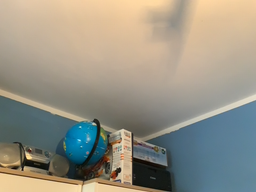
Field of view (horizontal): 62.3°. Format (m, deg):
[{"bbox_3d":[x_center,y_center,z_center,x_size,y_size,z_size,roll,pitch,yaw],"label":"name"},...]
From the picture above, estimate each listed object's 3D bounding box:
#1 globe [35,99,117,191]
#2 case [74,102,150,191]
[{"bbox_3d":[-0.300,0.330,1.270,0.260,0.440,0.400,25,-41,-34],"label":"globe"},{"bbox_3d":[-0.110,0.370,1.410,0.230,0.470,0.450,26,-41,-34],"label":"case"}]
